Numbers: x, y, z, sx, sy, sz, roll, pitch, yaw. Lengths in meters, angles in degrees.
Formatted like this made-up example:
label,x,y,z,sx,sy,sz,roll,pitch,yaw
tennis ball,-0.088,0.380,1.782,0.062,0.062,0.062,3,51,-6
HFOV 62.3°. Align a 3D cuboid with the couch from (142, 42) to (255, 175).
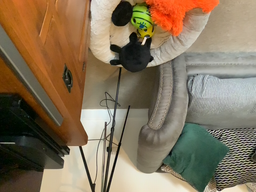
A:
label,x,y,z,sx,sy,sz,roll,pitch,yaw
couch,0.960,0.200,1.820,1.620,0.740,1.090,-1,152,1
